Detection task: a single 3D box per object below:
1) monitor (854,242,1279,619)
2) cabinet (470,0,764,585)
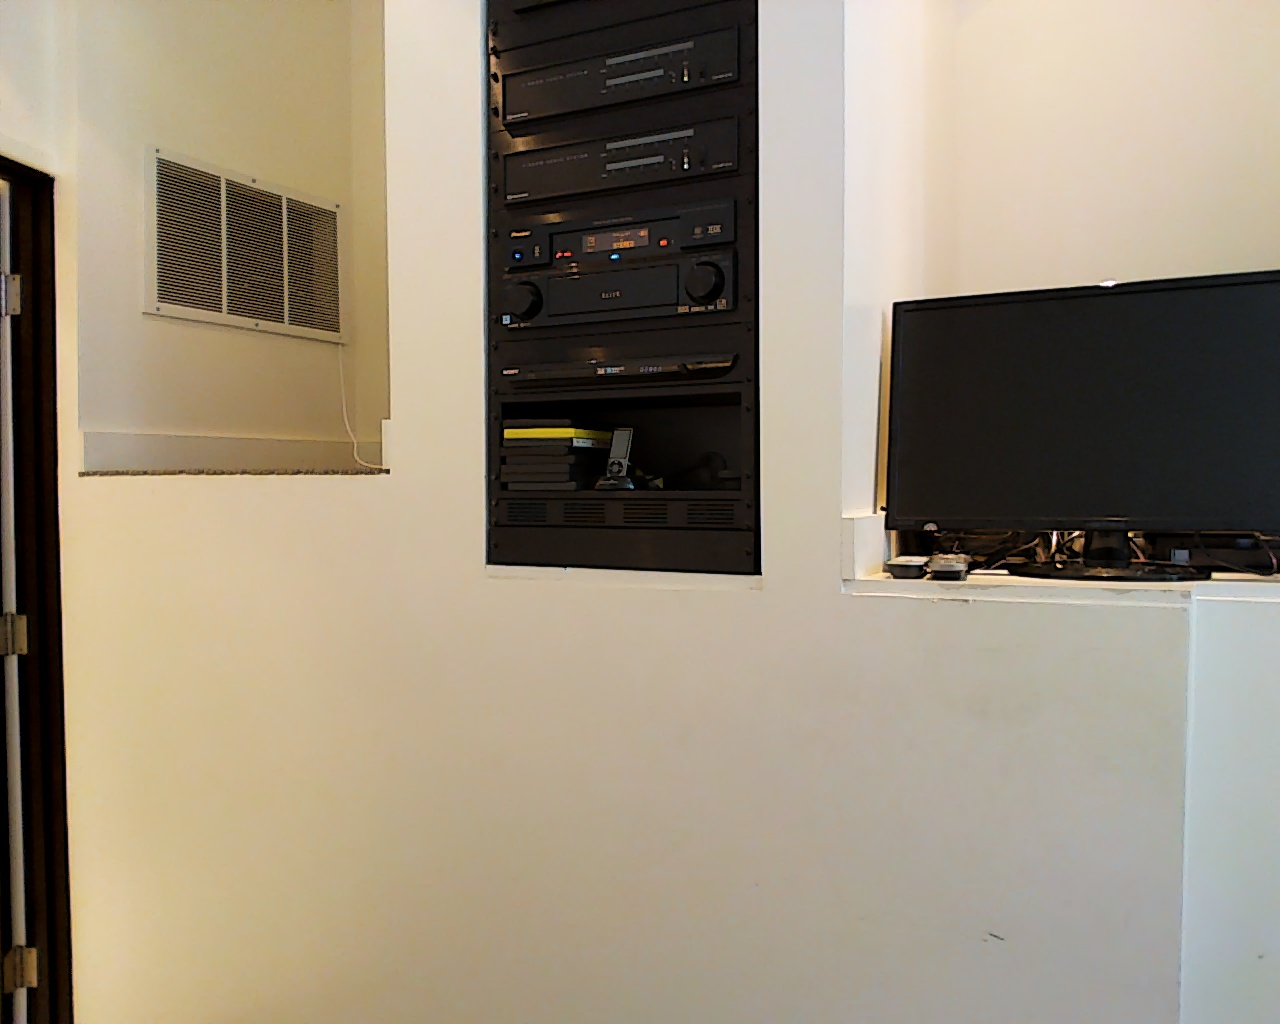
[{"bbox_3d":[0.700,-0.130,1.590,0.670,0.470,0.140,11,3,28],"label":"monitor"},{"bbox_3d":[-0.050,-0.690,1.720,0.510,1.590,0.050,1,2,28],"label":"cabinet"}]
